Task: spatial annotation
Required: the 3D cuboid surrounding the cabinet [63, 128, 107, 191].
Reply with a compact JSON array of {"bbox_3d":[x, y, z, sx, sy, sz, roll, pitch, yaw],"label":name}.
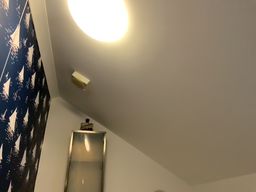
[{"bbox_3d":[-0.390,0.650,1.980,0.350,0.700,0.040,6,-29,-11],"label":"cabinet"}]
